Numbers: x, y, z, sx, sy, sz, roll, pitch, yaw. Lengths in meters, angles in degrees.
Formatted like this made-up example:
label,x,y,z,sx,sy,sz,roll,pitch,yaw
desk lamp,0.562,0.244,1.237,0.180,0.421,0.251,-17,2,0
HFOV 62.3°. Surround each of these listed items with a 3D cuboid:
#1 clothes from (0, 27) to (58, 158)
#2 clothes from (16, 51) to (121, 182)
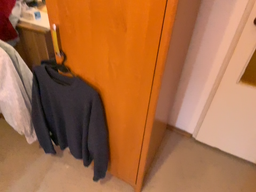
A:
label,x,y,z,sx,sy,sz,roll,pitch,yaw
clothes,-0.880,-0.030,1.480,0.640,0.890,0.210,21,44,16
clothes,-0.330,0.170,1.280,0.540,0.780,0.100,21,44,16
